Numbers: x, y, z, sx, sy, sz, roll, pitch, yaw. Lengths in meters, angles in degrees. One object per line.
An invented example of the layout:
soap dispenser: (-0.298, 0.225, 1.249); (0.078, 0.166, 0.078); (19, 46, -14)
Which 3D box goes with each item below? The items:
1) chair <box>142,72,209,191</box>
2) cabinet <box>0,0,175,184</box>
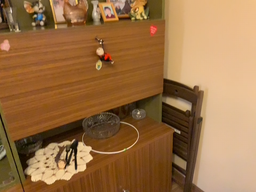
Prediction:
chair: (0.320, 0.300, 1.640); (0.130, 0.870, 0.500); (-17, 26, -32)
cabinet: (-0.230, -0.490, 1.020); (0.910, 1.560, 0.370); (-17, 28, -31)
